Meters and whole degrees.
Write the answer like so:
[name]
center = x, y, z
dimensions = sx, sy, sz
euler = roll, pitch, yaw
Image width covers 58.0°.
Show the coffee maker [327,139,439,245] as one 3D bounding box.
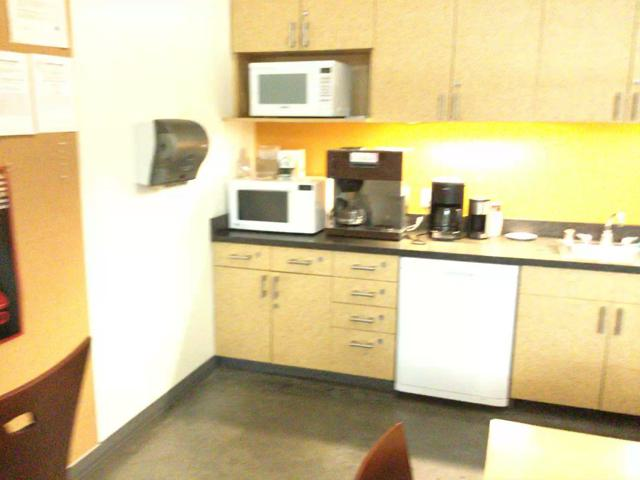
[coffee maker]
center = 0.360, -0.290, 3.300
dimensions = 0.550, 0.510, 0.340
euler = 6, 16, 19
